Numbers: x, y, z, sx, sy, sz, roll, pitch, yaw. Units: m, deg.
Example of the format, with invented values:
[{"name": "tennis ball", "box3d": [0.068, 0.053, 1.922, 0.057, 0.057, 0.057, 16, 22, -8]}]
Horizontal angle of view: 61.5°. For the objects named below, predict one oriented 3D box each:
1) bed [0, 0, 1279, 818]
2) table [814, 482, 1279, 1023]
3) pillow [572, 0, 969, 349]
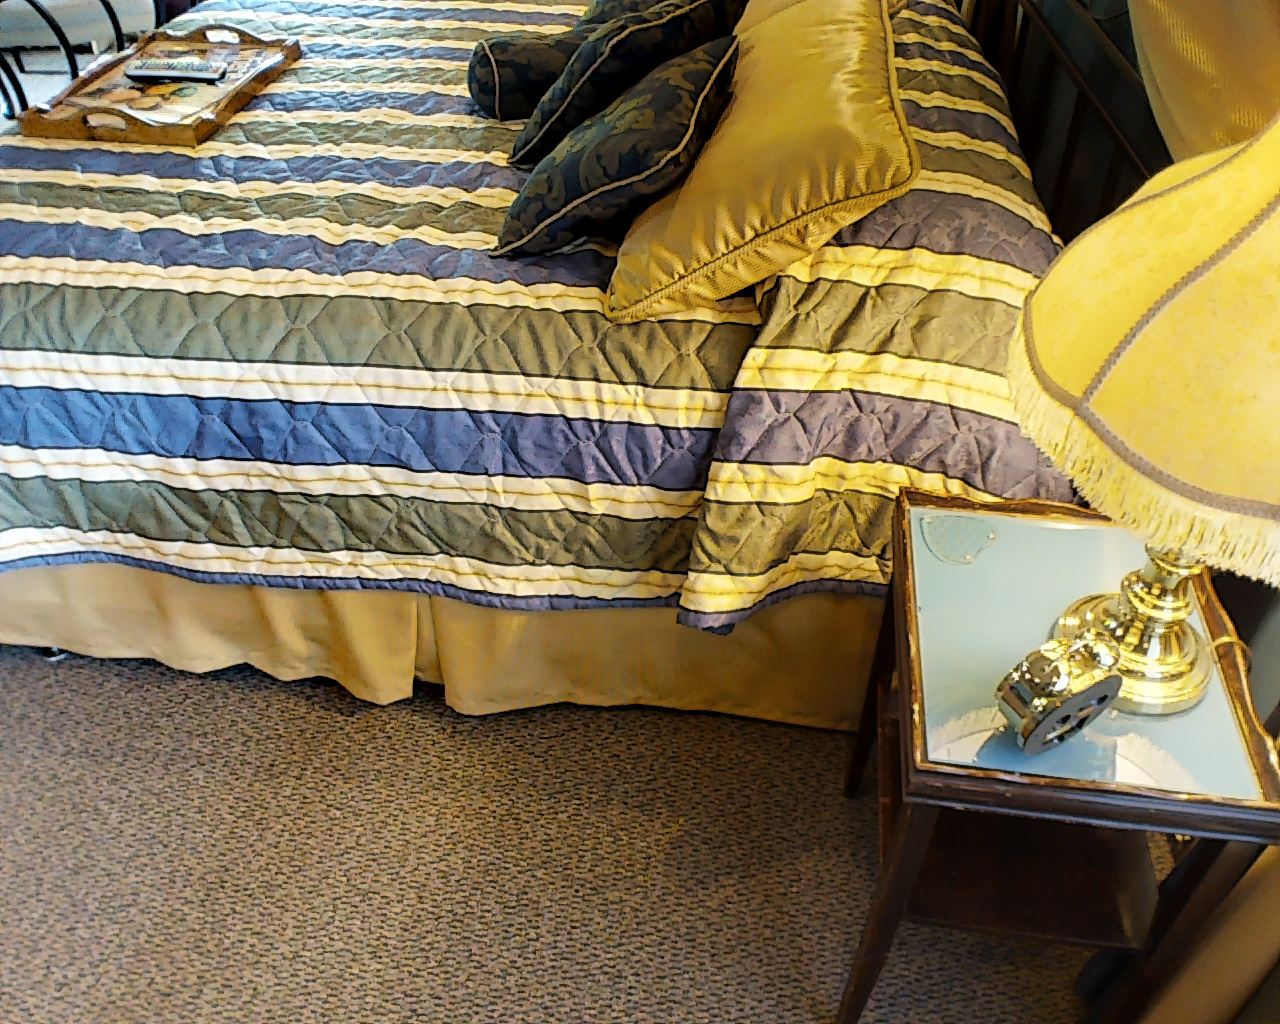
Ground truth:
[{"name": "bed", "box3d": [-0.270, -0.680, 2.340, 2.470, 1.150, 2.170, 3, 40, 2]}, {"name": "table", "box3d": [0.540, 0.380, 1.470, 0.510, 0.660, 0.470, 4, 40, 4]}, {"name": "pillow", "box3d": [0.190, -0.650, 1.800, 0.500, 0.300, 0.900, 3, 40, 2]}]
